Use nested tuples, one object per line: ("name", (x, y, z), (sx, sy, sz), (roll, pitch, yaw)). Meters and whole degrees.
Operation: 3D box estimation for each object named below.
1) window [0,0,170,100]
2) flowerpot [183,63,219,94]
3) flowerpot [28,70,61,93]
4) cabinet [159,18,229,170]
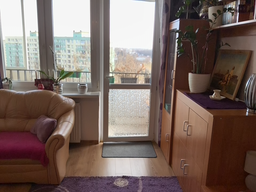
("window", (-0.680, -0.820, 2.980), (2.460, 1.730, 0.190), (1, 13, -6))
("flowerpot", (0.790, -0.200, 2.330), (0.270, 0.300, 0.250), (2, 13, -1))
("flowerpot", (-1.190, -0.210, 3.050), (0.380, 0.280, 0.200), (1, 13, -4))
("cabinet", (0.800, -0.020, 2.860), (0.510, 1.850, 0.680), (2, 13, -4))
